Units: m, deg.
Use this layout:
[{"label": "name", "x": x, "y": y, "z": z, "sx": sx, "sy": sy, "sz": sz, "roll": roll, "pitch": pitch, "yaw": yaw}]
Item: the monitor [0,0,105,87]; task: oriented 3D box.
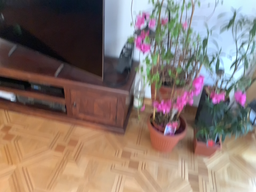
[{"label": "monitor", "x": -0.660, "y": -0.590, "z": 1.480, "sx": 1.150, "sy": 0.730, "sz": 0.080, "roll": 24, "pitch": 41, "yaw": 20}]

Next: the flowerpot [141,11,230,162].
[{"label": "flowerpot", "x": 0.350, "y": -0.050, "z": 1.550, "sx": 0.330, "sy": 0.920, "sz": 0.540, "roll": 10, "pitch": 38, "yaw": 5}]
